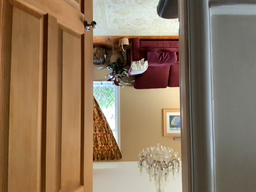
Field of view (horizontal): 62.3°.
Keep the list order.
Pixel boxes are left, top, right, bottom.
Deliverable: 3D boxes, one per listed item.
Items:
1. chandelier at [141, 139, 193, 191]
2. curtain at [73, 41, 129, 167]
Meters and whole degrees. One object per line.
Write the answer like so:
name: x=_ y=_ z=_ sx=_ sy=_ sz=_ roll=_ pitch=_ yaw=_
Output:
chandelier: x=0.510 y=1.170 z=3.080 sx=0.770 sy=0.550 sz=0.790 roll=-99 pitch=-171 yaw=-75
curtain: x=-0.620 y=0.170 z=4.860 sx=0.290 sy=1.210 sz=2.750 roll=160 pitch=-70 yaw=-81
